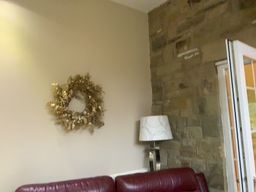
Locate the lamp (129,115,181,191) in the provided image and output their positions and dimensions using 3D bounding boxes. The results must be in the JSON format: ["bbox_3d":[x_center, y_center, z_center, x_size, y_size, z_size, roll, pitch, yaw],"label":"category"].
[{"bbox_3d":[0.340,0.960,2.700,0.440,1.420,0.430,2,-8,-32],"label":"lamp"}]
